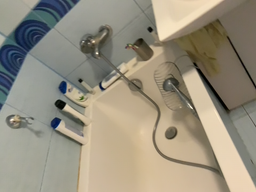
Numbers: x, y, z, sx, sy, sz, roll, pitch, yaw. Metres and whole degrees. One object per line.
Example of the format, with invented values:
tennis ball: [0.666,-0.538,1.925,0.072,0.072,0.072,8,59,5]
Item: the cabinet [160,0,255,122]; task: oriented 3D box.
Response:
cabinet: [0.540,-0.220,1.130,0.380,0.660,0.330,-33,39,23]
